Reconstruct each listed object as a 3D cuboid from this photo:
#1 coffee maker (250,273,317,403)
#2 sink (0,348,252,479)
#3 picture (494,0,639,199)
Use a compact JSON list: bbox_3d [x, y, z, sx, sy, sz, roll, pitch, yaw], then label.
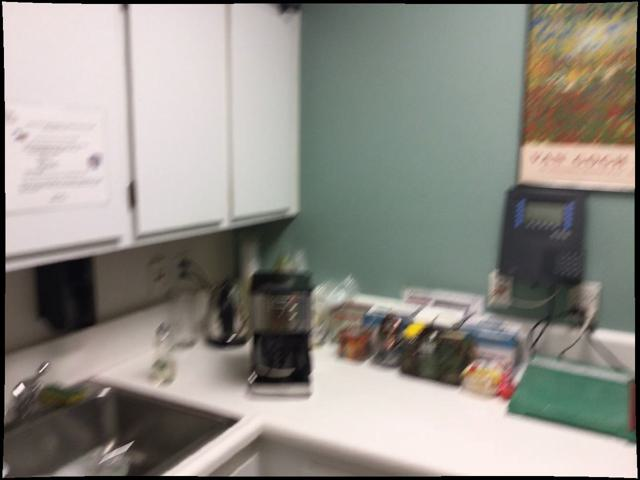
[{"bbox_3d":[-0.100,0.270,1.620,0.160,0.320,0.140,3,11,2],"label":"coffee maker"},{"bbox_3d":[-0.559,0.531,1.390,0.600,0.270,0.510,8,12,26],"label":"sink"},{"bbox_3d":[0.909,-0.541,1.670,0.699,0.831,0.050,8,12,26],"label":"picture"}]
